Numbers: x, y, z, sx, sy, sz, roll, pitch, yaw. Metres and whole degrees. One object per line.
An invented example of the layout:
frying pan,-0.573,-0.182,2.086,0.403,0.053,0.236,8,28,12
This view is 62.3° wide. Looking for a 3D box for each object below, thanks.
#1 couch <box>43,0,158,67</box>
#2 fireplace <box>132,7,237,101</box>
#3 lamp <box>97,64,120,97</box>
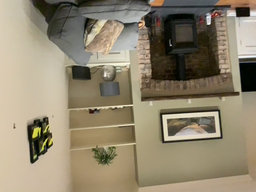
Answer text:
couch,-0.280,-0.950,2.510,0.940,0.930,1.470,-3,178,-3
fireplace,0.950,-0.700,3.740,1.610,1.500,0.540,-3,178,-8
lamp,-0.340,-0.260,3.680,0.350,0.530,0.360,-3,178,-9
